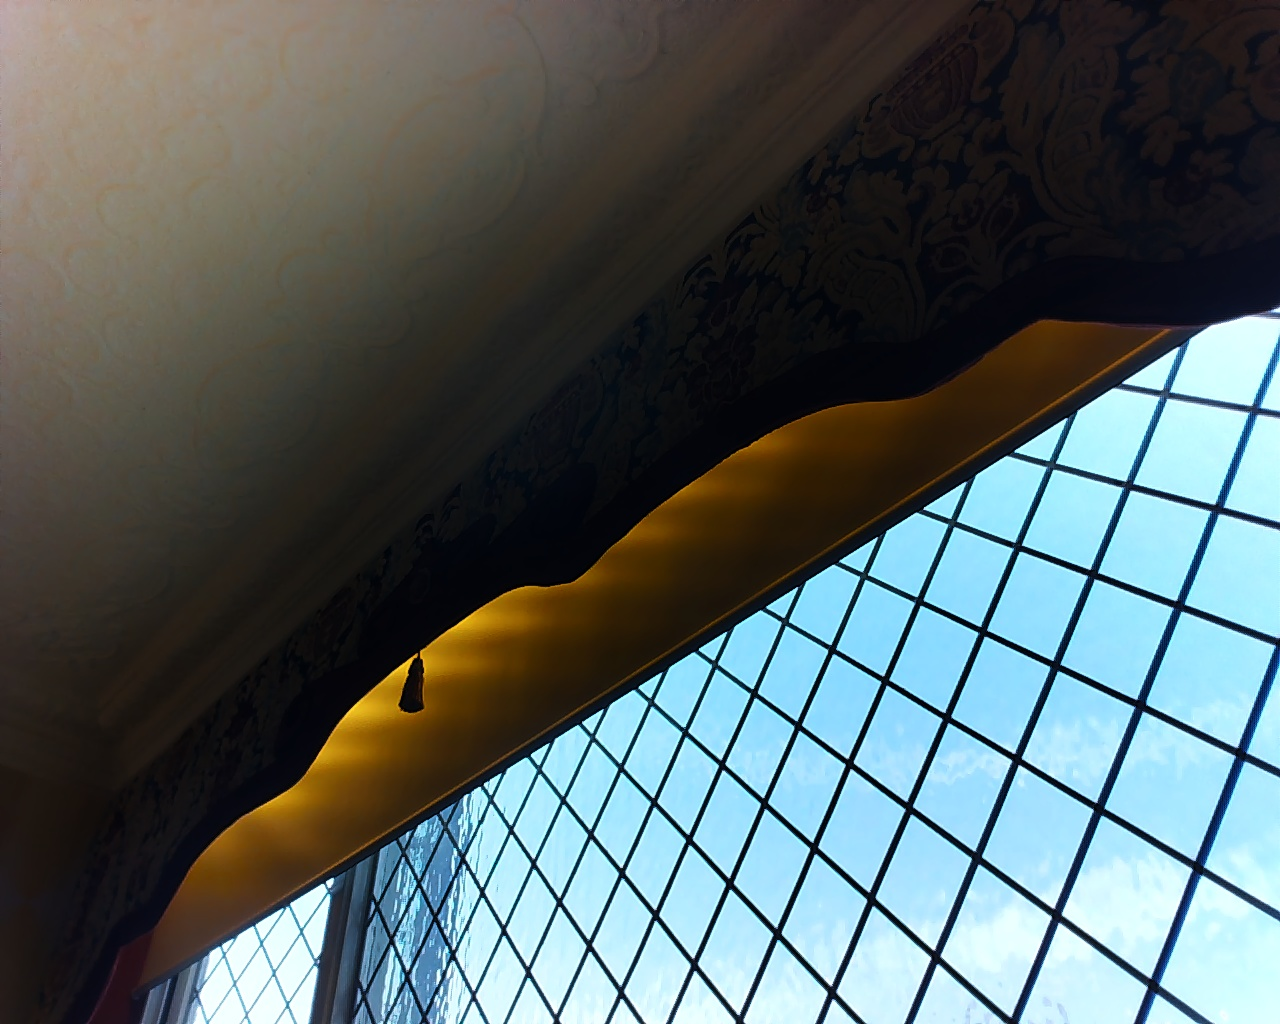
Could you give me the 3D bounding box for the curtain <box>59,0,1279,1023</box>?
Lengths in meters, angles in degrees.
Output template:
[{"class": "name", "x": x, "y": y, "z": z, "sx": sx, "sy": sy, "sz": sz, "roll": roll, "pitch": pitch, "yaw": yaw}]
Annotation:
[{"class": "curtain", "x": -0.280, "y": 0.230, "z": 1.620, "sx": 0.100, "sy": 0.880, "sz": 2.940, "roll": 28, "pitch": -48, "yaw": -29}]
